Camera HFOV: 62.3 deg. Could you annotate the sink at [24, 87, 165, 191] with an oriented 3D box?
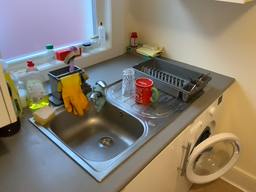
[{"bbox_3d":[-0.160,0.190,1.020,0.510,0.170,0.410,26,39,33],"label":"sink"}]
